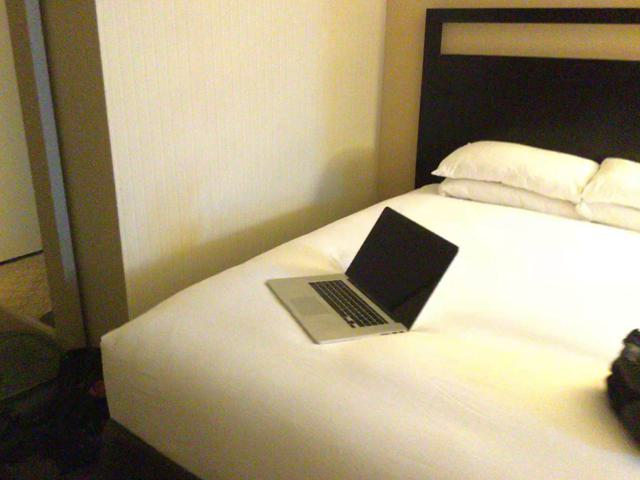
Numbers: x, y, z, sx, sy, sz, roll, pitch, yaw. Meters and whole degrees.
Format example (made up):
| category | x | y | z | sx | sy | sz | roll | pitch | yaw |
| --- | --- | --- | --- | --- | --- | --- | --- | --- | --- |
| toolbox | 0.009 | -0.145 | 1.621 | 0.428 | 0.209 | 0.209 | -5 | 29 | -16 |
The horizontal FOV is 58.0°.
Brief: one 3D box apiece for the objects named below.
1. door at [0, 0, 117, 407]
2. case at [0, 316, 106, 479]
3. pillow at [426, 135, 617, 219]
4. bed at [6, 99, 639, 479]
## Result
| category | x | y | z | sx | sy | sz | roll | pitch | yaw |
| --- | --- | --- | --- | --- | --- | --- | --- | --- | --- |
| door | -1.260 | -0.360 | 2.090 | 1.070 | 1.770 | 0.150 | 8 | 18 | 33 |
| case | -1.150 | 0.530 | 2.050 | 0.660 | 0.310 | 0.380 | 8 | 18 | 33 |
| pillow | 0.850 | -0.290 | 2.460 | 0.670 | 0.260 | 0.420 | 8 | 18 | 33 |
| bed | 0.600 | 0.180 | 1.790 | 1.580 | 1.070 | 2.110 | 2 | 15 | 34 |
